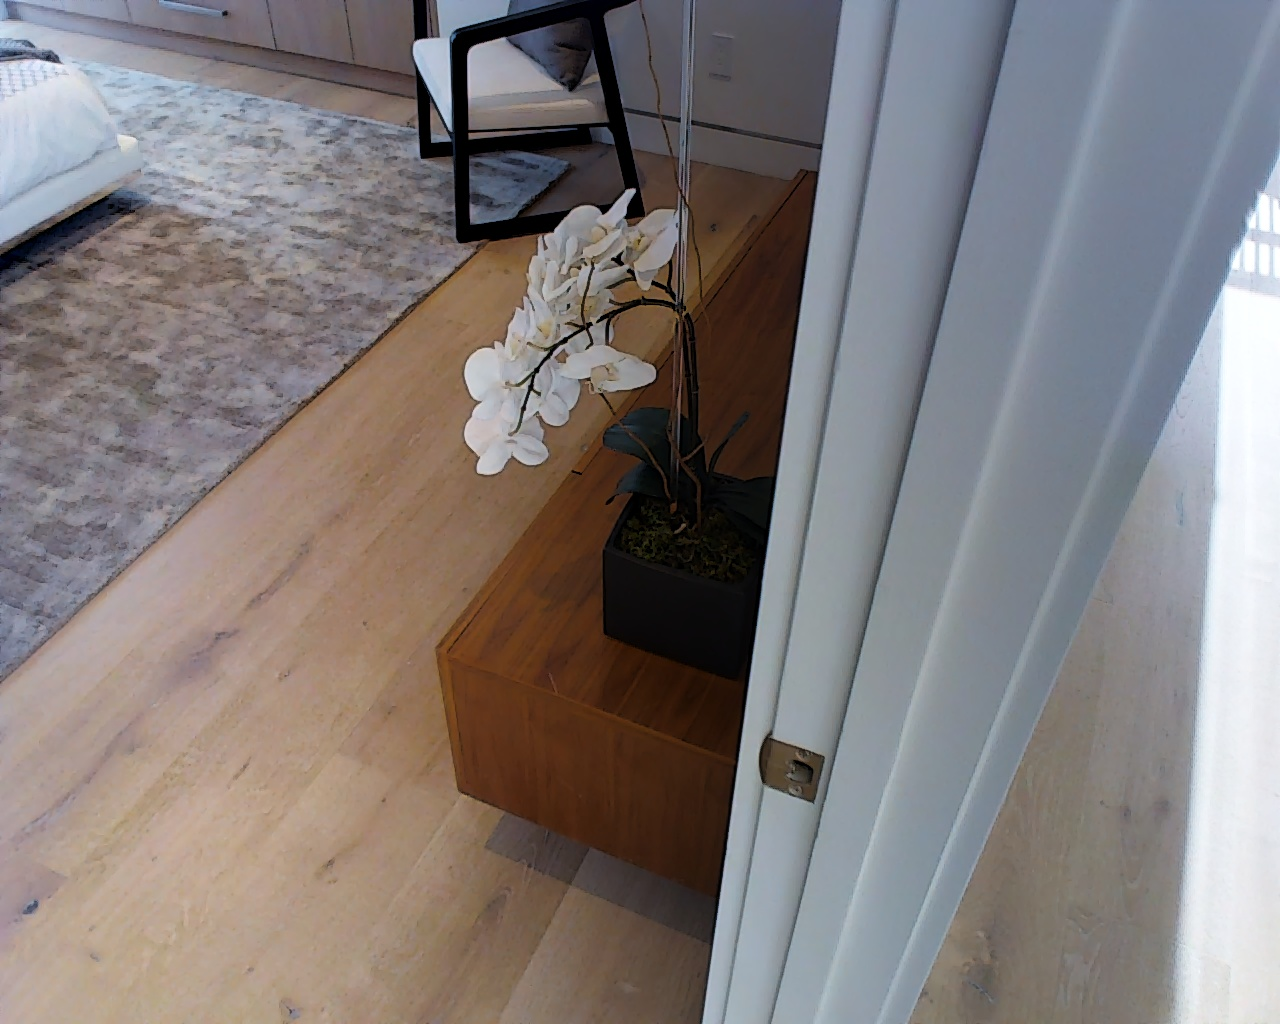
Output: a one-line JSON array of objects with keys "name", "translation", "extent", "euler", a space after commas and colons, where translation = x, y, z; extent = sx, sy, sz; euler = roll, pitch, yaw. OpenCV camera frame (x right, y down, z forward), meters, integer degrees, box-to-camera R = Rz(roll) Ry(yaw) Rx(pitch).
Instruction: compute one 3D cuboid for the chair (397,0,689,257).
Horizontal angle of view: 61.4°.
[{"name": "chair", "translation": [-0.310, -1.330, 3.270], "extent": [0.680, 0.760, 0.680], "euler": [-14, 44, -16]}]
